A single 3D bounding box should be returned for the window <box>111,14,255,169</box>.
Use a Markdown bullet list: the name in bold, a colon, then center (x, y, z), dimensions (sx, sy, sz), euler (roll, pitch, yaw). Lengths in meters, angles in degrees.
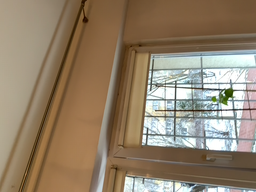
- **window**: center (0.560, -0.070, 1.320), dimensions (0.220, 1.180, 0.940), euler (66, -152, -59)
